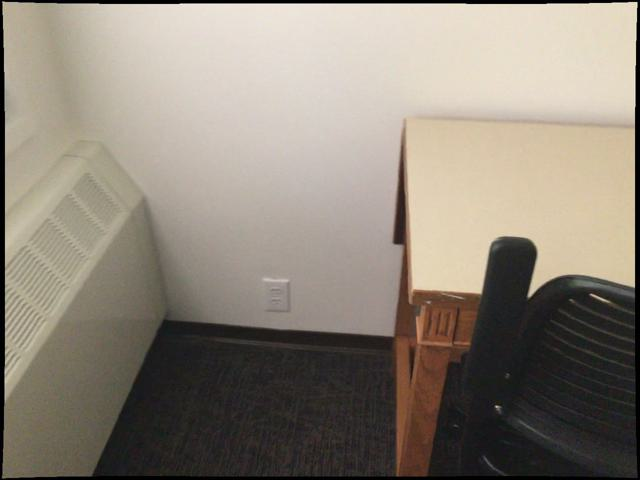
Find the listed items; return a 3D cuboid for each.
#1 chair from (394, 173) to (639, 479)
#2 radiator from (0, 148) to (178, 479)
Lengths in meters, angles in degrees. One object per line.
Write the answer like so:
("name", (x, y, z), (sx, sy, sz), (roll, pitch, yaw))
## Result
("chair", (0.489, 0.371, 0.920), (0.698, 0.902, 0.250), (4, 36, 5))
("radiator", (-0.578, 0.311, 1.240), (0.170, 0.661, 0.911), (4, 36, 6))
